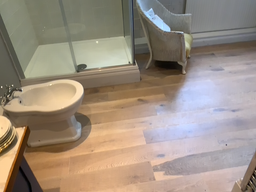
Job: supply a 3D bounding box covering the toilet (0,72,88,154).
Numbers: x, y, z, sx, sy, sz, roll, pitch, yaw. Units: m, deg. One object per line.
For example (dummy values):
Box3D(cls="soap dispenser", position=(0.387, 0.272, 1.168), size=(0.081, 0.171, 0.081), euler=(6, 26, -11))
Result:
Box3D(cls="toilet", position=(-0.670, 0.120, 1.660), size=(0.640, 0.400, 0.410), euler=(-6, 37, -4))
